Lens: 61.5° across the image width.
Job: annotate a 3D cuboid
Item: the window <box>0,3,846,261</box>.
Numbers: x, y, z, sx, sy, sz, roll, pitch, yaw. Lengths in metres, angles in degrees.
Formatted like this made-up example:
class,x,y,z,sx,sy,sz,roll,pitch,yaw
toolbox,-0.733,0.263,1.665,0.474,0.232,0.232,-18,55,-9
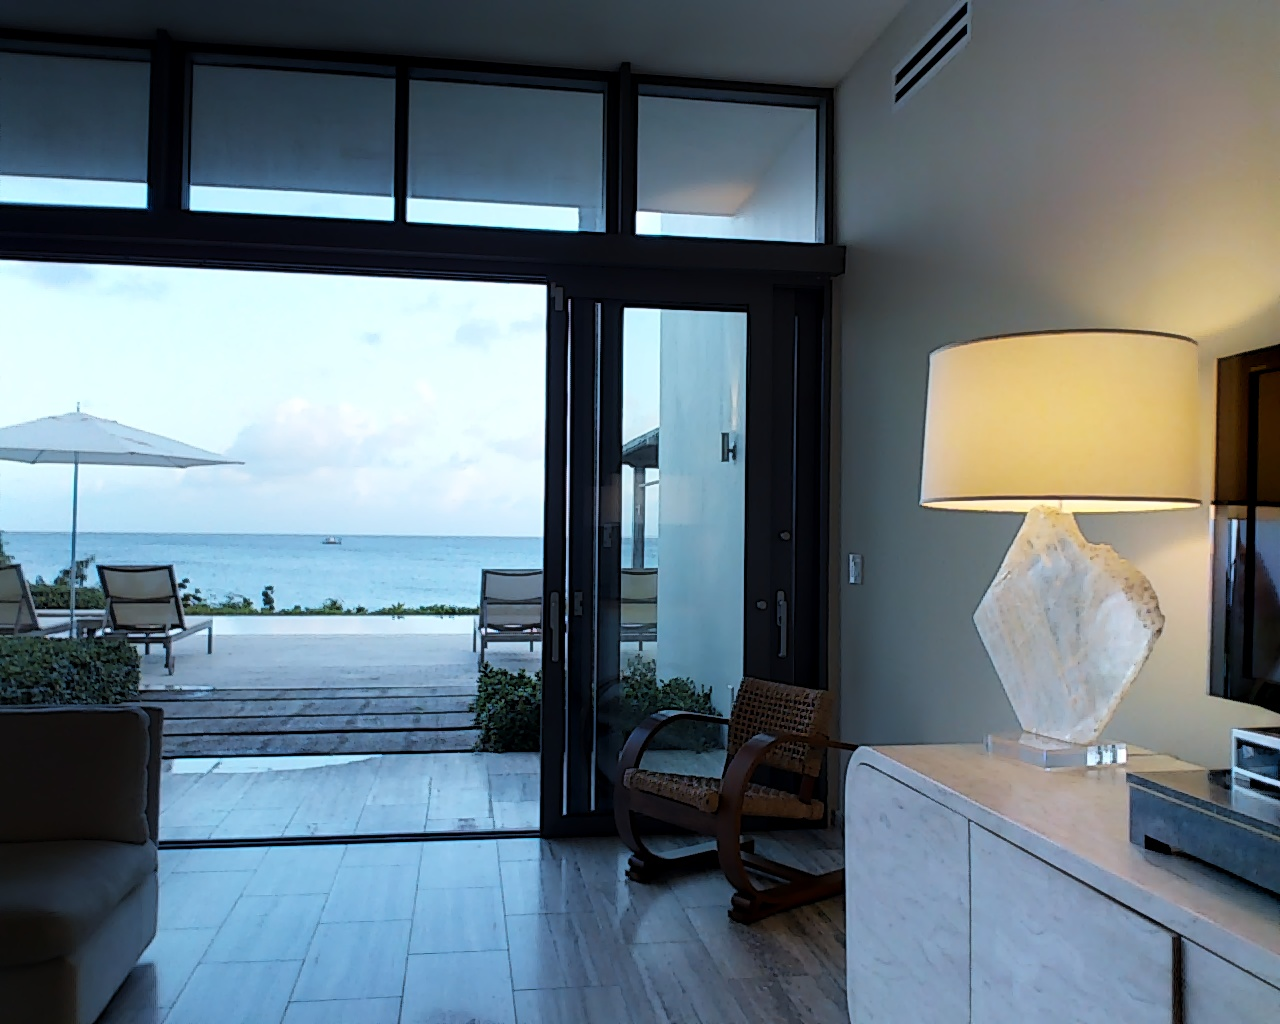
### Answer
class,x,y,z,sx,sy,sz,roll,pitch,yaw
window,-1.960,-1.640,4.610,5.770,0.760,0.460,0,-1,-9
